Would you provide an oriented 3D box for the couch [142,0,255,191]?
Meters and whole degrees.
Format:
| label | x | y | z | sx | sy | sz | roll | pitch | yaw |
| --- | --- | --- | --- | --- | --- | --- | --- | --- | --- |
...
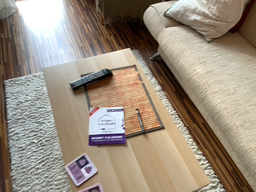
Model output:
| label | x | y | z | sx | sy | sz | roll | pitch | yaw |
| --- | --- | --- | --- | --- | --- | --- | --- | --- | --- |
| couch | 0.900 | -0.170 | 1.370 | 0.870 | 0.910 | 1.820 | -15 | 56 | -15 |
